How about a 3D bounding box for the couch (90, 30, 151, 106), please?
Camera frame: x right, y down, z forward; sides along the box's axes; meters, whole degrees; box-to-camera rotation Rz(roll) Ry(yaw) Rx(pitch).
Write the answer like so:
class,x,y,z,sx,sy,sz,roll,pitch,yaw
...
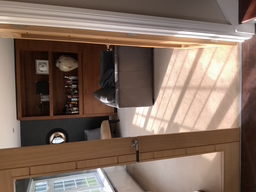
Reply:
class,x,y,z,sx,sy,sz,roll,pitch,yaw
couch,-0.210,-0.430,3.970,1.330,0.780,1.160,180,90,-71
